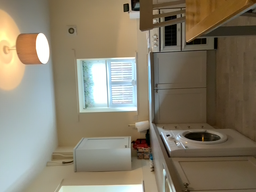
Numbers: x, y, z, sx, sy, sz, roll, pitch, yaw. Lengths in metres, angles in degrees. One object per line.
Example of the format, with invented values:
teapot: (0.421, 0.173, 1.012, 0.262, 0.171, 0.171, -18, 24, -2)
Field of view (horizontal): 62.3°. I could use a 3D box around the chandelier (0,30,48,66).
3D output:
chandelier: (-1.050, -0.490, 2.130, 0.280, 0.350, 0.310, -90, 179, -69)
